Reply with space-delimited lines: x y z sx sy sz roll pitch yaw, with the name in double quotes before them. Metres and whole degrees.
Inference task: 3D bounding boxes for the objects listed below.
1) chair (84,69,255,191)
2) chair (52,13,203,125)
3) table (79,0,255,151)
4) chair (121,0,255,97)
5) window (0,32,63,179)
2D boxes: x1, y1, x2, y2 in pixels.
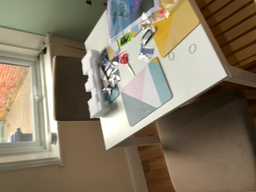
"chair" 0.360 0.310 0.990 0.510 0.910 0.570 -37 58 45
"chair" 0.000 -0.090 1.520 0.550 0.900 0.520 -18 73 51
"table" 0.270 -0.190 1.290 0.810 0.750 0.760 -39 57 44
"chair" 0.480 -0.350 0.950 0.490 0.840 0.500 -37 58 45
"window" -1.320 0.030 1.580 0.410 1.410 1.170 -41 55 43
